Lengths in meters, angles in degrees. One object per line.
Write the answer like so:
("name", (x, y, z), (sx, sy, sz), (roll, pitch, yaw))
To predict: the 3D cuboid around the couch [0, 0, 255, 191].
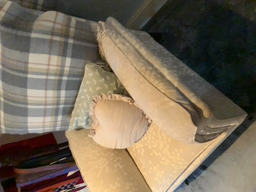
("couch", (-0.120, 0.080, 1.090), (0.850, 0.920, 0.900), (52, 132, 34))
